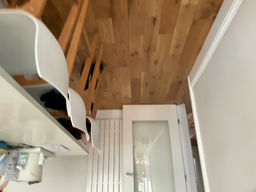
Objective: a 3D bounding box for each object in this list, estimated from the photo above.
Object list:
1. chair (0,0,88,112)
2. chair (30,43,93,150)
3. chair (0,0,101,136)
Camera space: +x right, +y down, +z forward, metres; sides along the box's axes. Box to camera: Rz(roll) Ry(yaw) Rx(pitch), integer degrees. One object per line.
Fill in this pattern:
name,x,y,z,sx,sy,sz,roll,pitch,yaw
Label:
chair,-0.460,-0.410,0.950,0.460,0.880,0.380,-1,156,0
chair,-0.540,0.000,1.890,0.350,0.870,0.380,-1,156,0
chair,-0.460,-0.210,1.410,0.480,0.870,0.380,-1,156,0
